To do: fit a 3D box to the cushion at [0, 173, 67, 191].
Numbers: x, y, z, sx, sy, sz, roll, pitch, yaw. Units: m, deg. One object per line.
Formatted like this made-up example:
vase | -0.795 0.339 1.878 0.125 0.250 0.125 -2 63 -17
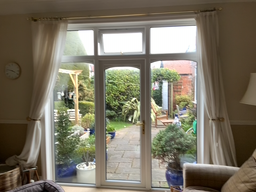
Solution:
cushion | -1.270 1.290 2.740 0.750 0.200 0.620 -2 4 -38
